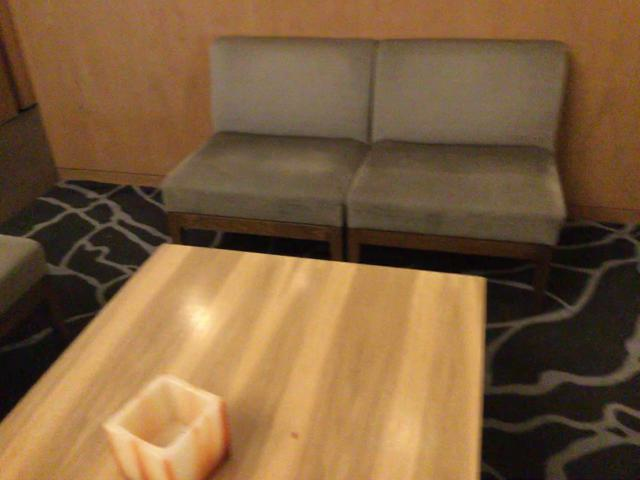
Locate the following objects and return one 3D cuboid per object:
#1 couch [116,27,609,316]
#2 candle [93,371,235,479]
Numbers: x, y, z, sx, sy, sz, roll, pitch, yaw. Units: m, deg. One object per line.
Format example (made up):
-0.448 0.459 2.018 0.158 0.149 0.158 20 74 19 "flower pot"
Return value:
0.160 -0.320 2.250 1.520 0.820 0.690 4 31 14 "couch"
-0.260 0.340 1.000 0.160 0.130 0.160 4 31 14 "candle"
